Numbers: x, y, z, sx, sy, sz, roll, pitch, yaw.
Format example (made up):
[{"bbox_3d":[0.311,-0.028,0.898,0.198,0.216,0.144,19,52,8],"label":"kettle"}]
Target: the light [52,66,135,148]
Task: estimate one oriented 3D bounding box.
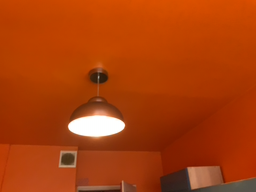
[{"bbox_3d":[-0.220,0.090,1.410,0.410,0.360,0.310,17,60,-3],"label":"light"}]
